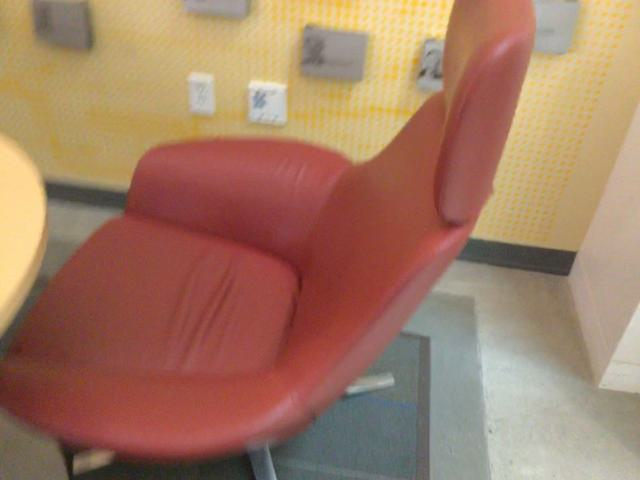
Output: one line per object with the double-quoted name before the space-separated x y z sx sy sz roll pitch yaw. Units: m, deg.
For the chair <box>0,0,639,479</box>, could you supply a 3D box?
"chair" -0.170 0.020 1.150 0.900 1.040 0.890 5 36 2
